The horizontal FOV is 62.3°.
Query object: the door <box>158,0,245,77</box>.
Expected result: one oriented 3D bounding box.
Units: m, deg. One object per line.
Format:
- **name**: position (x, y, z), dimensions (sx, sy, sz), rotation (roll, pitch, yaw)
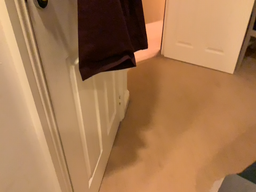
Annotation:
- **door**: position (0.680, -1.140, 1.820), dimensions (0.740, 1.950, 0.070), rotation (21, 39, 28)
